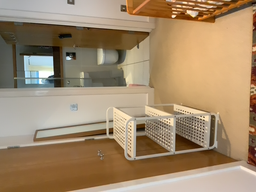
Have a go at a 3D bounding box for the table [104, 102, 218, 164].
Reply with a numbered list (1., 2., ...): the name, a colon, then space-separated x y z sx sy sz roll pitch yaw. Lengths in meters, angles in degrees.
1. table: 0.270 0.300 2.150 0.800 0.850 0.360 -167 76 -69
